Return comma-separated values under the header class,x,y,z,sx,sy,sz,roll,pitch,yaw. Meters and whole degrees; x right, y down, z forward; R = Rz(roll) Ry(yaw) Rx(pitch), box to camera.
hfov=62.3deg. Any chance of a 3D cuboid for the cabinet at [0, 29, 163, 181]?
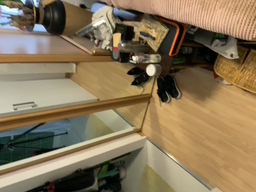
class,x,y,z,sx,sy,sz,roll,pitch,yaw
cabinet,-0.730,0.000,1.750,0.640,2.090,0.920,33,120,40
